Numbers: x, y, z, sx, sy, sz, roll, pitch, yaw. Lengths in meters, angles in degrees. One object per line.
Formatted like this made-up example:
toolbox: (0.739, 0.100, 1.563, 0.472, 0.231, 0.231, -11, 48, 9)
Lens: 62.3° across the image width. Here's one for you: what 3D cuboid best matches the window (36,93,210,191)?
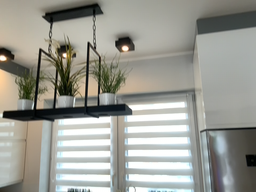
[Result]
window: (-0.130, 0.730, 2.390, 1.910, 1.370, 0.190, -4, -12, 14)
